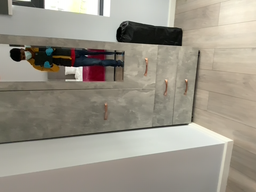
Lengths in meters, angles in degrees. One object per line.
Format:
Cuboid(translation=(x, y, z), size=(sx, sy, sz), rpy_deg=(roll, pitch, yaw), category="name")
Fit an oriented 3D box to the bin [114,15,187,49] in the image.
Cuboid(translation=(0.240, -0.650, 2.220), size=(0.220, 0.720, 0.270), rpy_deg=(-151, 62, -63), category="bin")
